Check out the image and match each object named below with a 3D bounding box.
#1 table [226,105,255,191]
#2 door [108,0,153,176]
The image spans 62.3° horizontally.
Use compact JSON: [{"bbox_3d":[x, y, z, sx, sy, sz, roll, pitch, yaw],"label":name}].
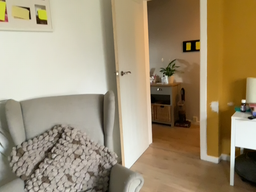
[{"bbox_3d":[1.190,0.480,2.070,0.300,0.670,0.520,5,12,36],"label":"table"},{"bbox_3d":[0.080,-0.200,2.590,0.140,2.070,0.830,2,11,26],"label":"door"}]
